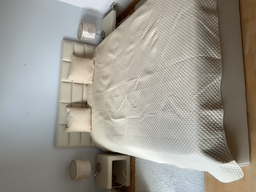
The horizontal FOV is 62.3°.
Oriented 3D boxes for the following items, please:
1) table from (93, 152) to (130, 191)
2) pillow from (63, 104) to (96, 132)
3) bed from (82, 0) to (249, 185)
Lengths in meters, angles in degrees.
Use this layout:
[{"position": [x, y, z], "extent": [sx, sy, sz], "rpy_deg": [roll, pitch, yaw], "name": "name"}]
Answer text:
[{"position": [-0.240, 1.050, 3.030], "extent": [0.500, 0.330, 0.420], "rpy_deg": [-12, 74, 59], "name": "table"}, {"position": [-0.680, 0.310, 2.960], "extent": [0.250, 0.360, 0.360], "rpy_deg": [-8, 76, 60], "name": "pillow"}, {"position": [0.120, -0.140, 2.430], "extent": [2.140, 0.520, 1.650], "rpy_deg": [-12, 74, 59], "name": "bed"}]
